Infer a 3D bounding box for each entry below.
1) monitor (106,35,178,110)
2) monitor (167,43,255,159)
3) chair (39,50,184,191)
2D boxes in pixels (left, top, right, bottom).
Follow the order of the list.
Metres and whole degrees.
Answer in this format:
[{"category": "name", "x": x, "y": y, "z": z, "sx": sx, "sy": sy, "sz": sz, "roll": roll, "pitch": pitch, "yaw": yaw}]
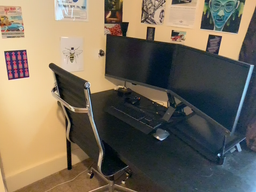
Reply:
[{"category": "monitor", "x": 0.080, "y": -0.220, "z": 1.850, "sx": 0.650, "sy": 0.540, "sz": 0.040, "roll": 16, "pitch": 25, "yaw": 29}, {"category": "monitor", "x": 0.470, "y": -0.020, "z": 1.390, "sx": 0.040, "sy": 0.540, "sz": 0.660, "roll": -4, "pitch": 23, "yaw": -19}, {"category": "chair", "x": -0.140, "y": 0.320, "z": 1.620, "sx": 0.720, "sy": 1.180, "sz": 0.640, "roll": -15, "pitch": 28, "yaw": -39}]
